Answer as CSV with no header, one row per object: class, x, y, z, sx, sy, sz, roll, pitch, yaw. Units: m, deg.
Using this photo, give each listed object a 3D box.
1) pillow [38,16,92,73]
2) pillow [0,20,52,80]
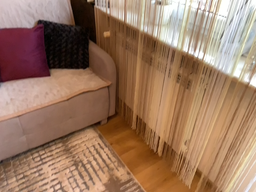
pillow,-0.520,-0.440,1.770,0.340,0.370,0.280,-13,39,-29
pillow,-0.790,-0.330,1.570,0.360,0.380,0.170,-6,36,-37
